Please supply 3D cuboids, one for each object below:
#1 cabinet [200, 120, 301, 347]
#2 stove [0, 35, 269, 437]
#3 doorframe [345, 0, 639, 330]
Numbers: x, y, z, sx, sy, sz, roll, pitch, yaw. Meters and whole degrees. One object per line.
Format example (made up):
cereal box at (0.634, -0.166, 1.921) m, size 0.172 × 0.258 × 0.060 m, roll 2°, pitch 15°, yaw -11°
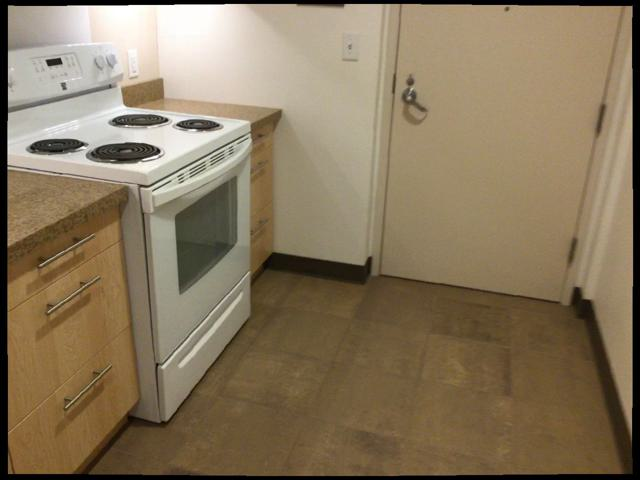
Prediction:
cabinet at (-0.299, -0.060, 2.650) m, size 0.150 × 0.821 × 0.720 m, roll 11°, pitch 26°, yaw 15°
stove at (-0.739, -0.090, 2.170) m, size 0.809 × 1.162 × 0.820 m, roll 11°, pitch 26°, yaw 15°
doorframe at (0.739, -0.381, 2.620) m, size 1.118 × 1.442 × 0.220 m, roll 11°, pitch 26°, yaw 15°
